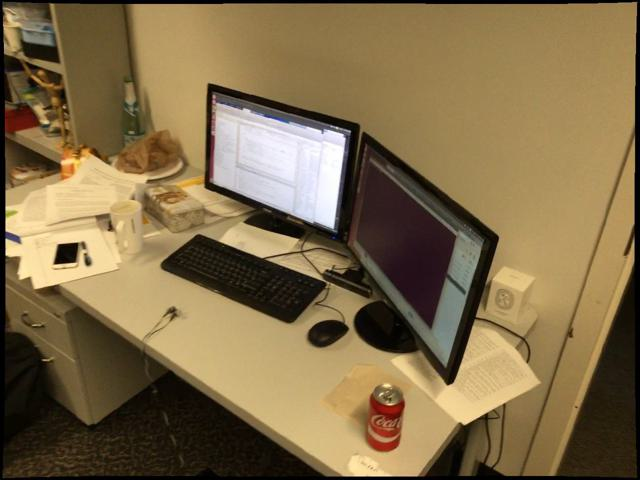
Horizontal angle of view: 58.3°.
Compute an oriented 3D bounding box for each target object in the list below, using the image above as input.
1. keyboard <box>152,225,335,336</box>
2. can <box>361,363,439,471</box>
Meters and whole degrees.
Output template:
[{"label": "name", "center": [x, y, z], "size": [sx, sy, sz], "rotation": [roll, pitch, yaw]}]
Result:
[{"label": "keyboard", "center": [-0.210, 0.090, 1.530], "size": [0.450, 0.030, 0.230], "rotation": [24, 37, 31]}, {"label": "can", "center": [0.150, 0.330, 1.080], "size": [0.080, 0.130, 0.120], "rotation": [24, 37, 31]}]
